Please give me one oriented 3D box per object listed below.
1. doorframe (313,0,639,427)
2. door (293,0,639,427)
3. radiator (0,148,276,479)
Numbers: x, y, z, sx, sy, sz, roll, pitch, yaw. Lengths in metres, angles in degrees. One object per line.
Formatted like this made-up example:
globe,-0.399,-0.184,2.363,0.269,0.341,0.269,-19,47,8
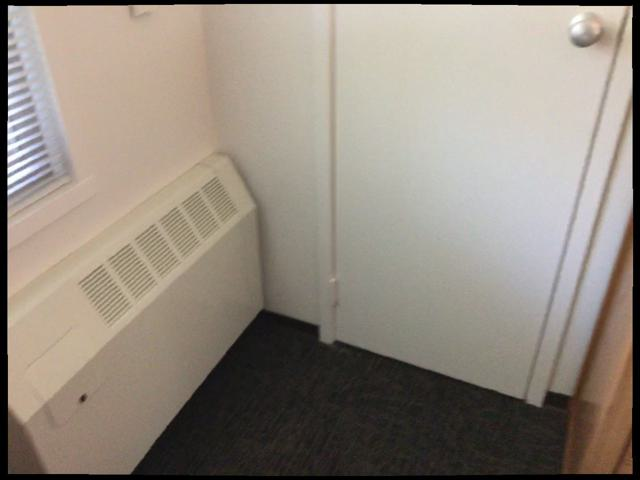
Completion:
doorframe,0.349,-0.120,1.480,0.759,1.382,0.070,14,37,21
door,0.349,-0.130,1.470,0.849,1.322,0.100,14,37,21
radiator,-0.429,0.250,1.530,0.160,0.641,0.930,14,37,21
